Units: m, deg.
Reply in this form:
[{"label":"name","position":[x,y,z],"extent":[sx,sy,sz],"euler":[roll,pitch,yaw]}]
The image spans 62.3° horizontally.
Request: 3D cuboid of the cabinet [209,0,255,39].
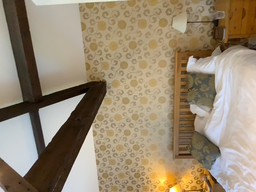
[{"label":"cabinet","position":[1.310,-0.940,2.410],"extent":[0.490,0.570,0.520],"euler":[-83,-9,-71]}]
